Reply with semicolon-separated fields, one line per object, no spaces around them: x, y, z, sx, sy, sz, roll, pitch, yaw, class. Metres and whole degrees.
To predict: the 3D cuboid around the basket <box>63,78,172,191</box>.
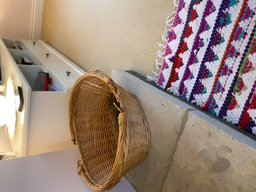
-0.070;0.140;0.870;0.340;0.240;0.320;37;120;46;basket
